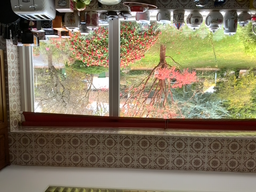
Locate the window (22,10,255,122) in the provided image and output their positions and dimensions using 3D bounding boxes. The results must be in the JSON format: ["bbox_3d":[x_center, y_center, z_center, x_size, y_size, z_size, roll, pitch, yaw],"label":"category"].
[{"bbox_3d":[0.390,-0.270,1.970,2.740,0.990,0.070,1,-174,3],"label":"window"}]

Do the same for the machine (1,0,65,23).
[{"bbox_3d":[-0.730,-0.720,1.670,0.350,0.210,0.300,1,-174,8],"label":"machine"}]
